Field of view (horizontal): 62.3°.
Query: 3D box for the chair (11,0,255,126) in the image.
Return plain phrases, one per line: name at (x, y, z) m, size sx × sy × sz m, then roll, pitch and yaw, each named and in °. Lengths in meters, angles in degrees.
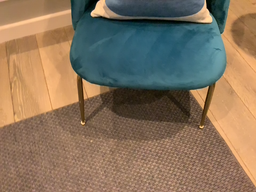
chair at (0.080, -0.360, 0.870) m, size 0.650 × 0.740 × 0.710 m, roll 1°, pitch 58°, yaw 1°
